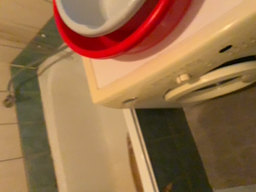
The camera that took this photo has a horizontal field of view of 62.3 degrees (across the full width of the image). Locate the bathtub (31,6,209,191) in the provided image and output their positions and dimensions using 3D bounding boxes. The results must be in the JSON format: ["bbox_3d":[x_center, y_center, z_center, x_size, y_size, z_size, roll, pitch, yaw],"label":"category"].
[{"bbox_3d":[-0.040,0.380,1.320,0.700,0.560,1.520,-27,72,34],"label":"bathtub"}]
